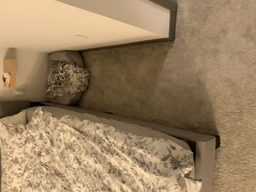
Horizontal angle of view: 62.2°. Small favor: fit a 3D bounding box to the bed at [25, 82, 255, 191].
[{"bbox_3d":[-0.200,0.960,1.880,2.200,0.570,2.070,7,95,45],"label":"bed"}]
